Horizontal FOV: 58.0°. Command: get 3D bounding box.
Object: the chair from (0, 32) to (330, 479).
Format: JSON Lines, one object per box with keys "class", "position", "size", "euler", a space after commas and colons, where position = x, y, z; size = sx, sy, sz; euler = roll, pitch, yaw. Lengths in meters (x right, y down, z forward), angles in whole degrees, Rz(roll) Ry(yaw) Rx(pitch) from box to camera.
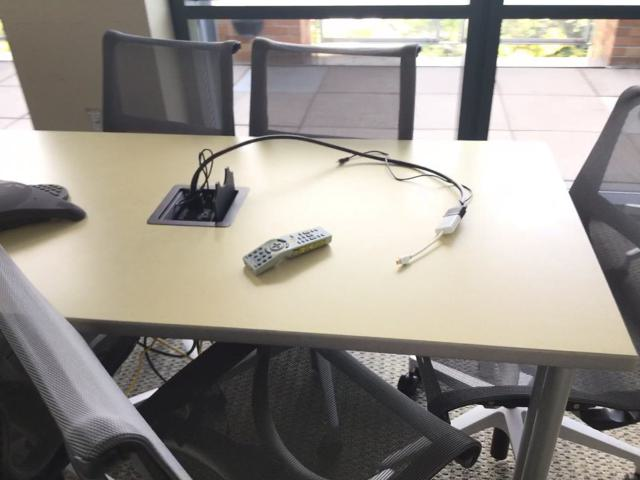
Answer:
{"class": "chair", "position": [-0.450, -0.020, 1.650], "size": [0.720, 0.930, 0.720], "euler": [13, 33, 22]}
